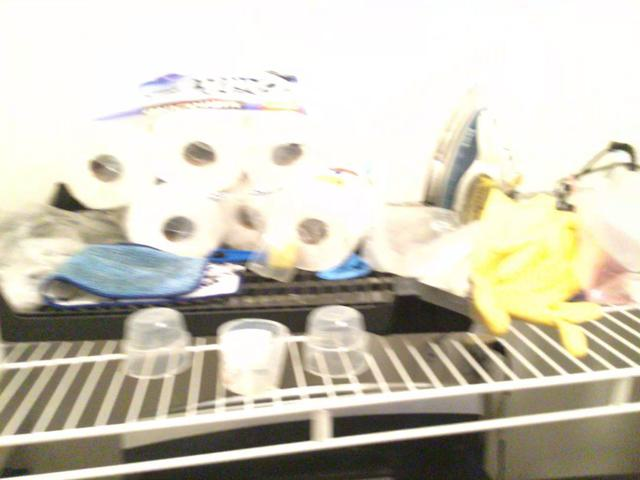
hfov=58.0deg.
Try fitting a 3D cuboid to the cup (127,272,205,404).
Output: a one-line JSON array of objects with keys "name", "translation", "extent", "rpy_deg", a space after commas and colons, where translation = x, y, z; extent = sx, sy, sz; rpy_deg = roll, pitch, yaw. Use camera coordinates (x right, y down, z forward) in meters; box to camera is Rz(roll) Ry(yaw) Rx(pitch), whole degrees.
[{"name": "cup", "translation": [-0.160, 0.100, 0.620], "extent": [0.060, 0.090, 0.120], "rpy_deg": [-5, 17, -8]}]

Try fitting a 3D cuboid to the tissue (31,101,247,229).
[{"name": "tissue", "translation": [-0.240, -0.110, 0.810], "extent": [0.260, 0.150, 0.090], "rpy_deg": [-5, 17, -8]}]

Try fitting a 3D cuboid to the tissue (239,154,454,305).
[{"name": "tissue", "translation": [0.020, -0.030, 0.810], "extent": [0.250, 0.130, 0.250], "rpy_deg": [-5, 17, -8]}]

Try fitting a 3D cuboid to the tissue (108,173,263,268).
[{"name": "tissue", "translation": [-0.180, -0.030, 0.800], "extent": [0.190, 0.100, 0.080], "rpy_deg": [-5, 17, -8]}]
